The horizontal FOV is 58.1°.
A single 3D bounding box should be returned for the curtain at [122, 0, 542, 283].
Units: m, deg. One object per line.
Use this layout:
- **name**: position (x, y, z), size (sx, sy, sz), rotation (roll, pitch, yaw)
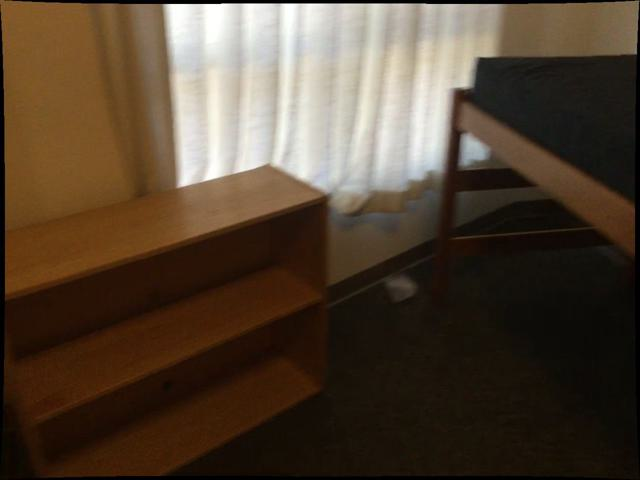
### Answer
- **curtain**: position (0.190, -0.731, 1.980), size (1.689, 1.362, 0.220), rotation (-20, 40, -35)
